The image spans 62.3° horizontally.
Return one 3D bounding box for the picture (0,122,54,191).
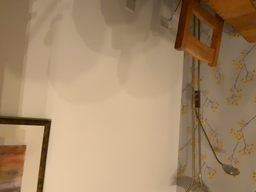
[{"bbox_3d":[-0.570,0.400,0.930,0.450,0.570,0.010,8,174,-44],"label":"picture"}]
